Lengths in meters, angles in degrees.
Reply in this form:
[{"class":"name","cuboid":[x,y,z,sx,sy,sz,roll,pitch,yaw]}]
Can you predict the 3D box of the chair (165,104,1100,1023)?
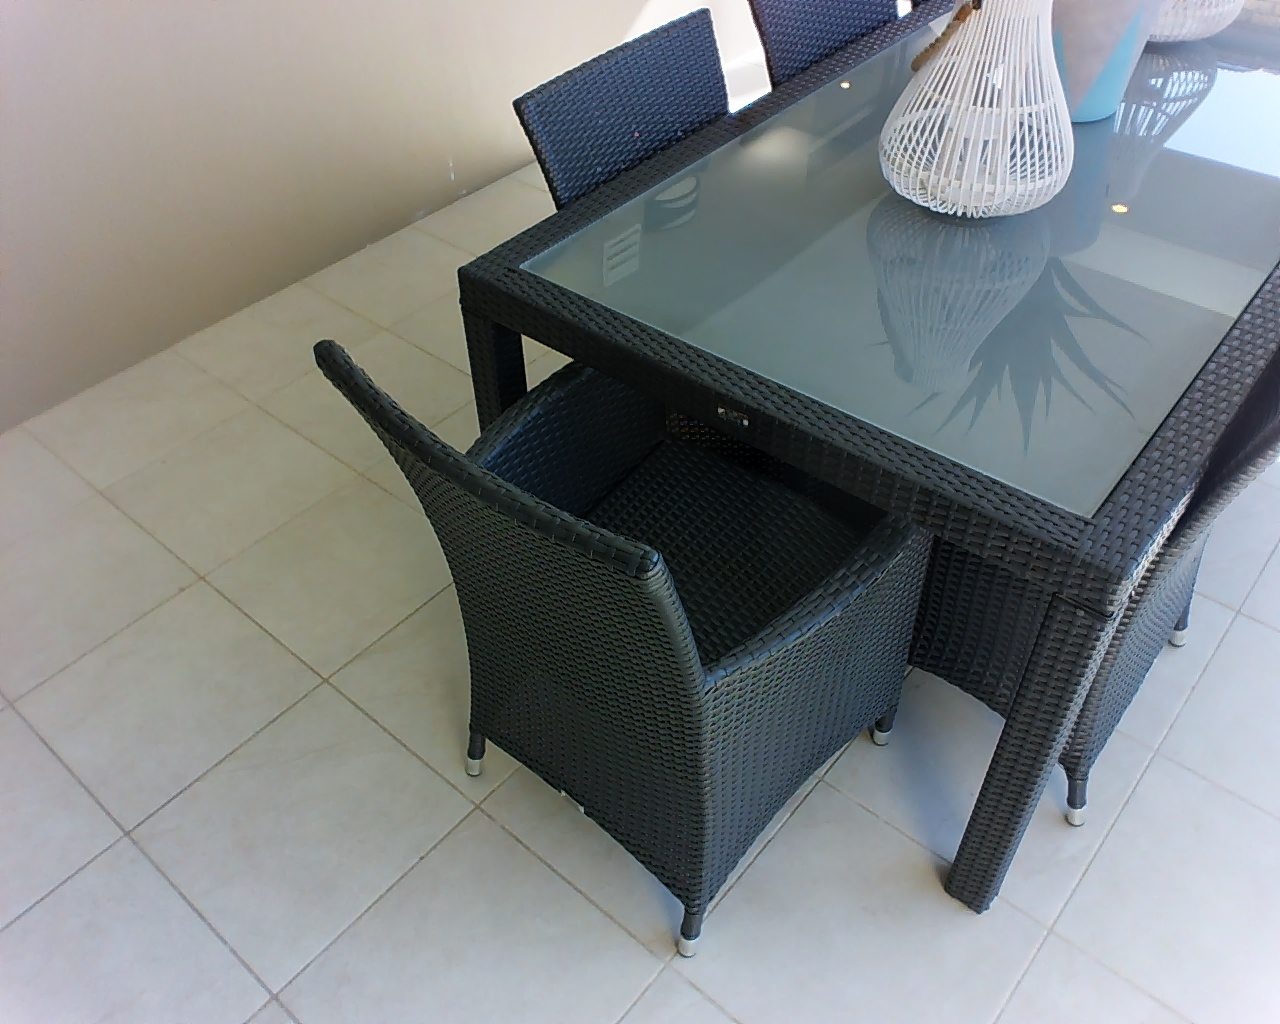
[{"class":"chair","cuboid":[0.020,0.100,1.490,0.710,0.930,0.750,28,51,28]}]
